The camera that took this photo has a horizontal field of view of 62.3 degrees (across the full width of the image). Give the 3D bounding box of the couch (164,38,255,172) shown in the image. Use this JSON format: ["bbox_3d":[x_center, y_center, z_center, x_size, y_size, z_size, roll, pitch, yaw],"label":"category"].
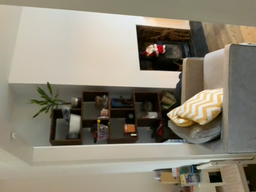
[{"bbox_3d":[0.830,0.070,1.880,0.830,0.740,0.890,177,94,-79],"label":"couch"}]

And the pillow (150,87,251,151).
[{"bbox_3d":[0.620,0.170,1.830,0.600,0.570,0.220,-6,113,49],"label":"pillow"}]
